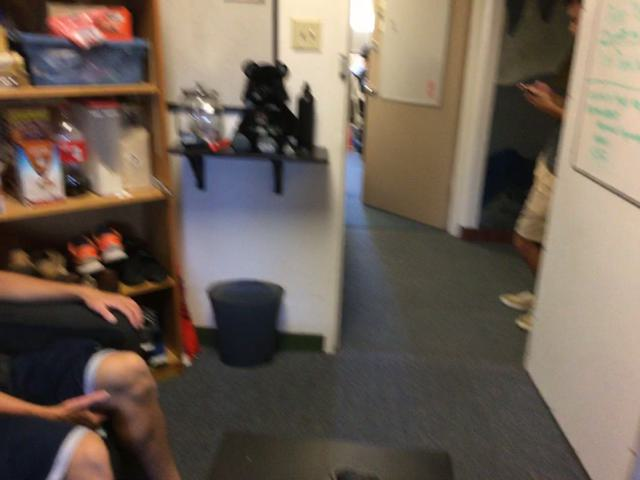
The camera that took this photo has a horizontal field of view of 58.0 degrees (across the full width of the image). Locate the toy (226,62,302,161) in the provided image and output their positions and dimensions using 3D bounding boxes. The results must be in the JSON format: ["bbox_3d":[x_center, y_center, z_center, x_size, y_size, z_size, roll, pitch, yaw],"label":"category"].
[{"bbox_3d":[-0.200,-0.480,2.140,0.240,0.330,0.240,2,17,2],"label":"toy"}]

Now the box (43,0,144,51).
[{"bbox_3d":[-0.750,-0.710,1.910,0.260,0.150,0.240,-8,19,-30],"label":"box"}]

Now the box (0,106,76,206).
[{"bbox_3d":[-0.960,-0.290,1.950,0.190,0.300,0.170,-10,20,-35],"label":"box"}]

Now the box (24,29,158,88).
[{"bbox_3d":[-0.760,-0.600,1.930,0.370,0.170,0.190,-9,20,-32],"label":"box"}]
